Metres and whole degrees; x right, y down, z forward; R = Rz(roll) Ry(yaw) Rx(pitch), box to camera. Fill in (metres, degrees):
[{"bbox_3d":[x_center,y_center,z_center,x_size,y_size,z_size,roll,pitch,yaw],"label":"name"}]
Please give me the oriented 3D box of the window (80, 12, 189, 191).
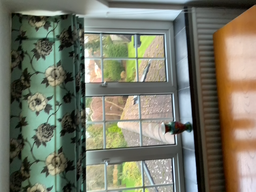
[{"bbox_3d":[0.050,0.150,1.750,0.120,0.820,1.660,154,114,-79],"label":"window"}]
